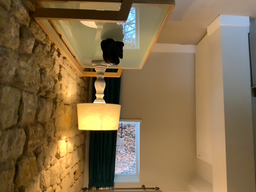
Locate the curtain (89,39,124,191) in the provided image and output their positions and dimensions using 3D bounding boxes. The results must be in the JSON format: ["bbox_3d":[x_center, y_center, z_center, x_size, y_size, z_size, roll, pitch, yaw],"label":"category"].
[{"bbox_3d":[-0.350,0.320,3.550,0.520,2.480,0.280,1,175,-8],"label":"curtain"}]
